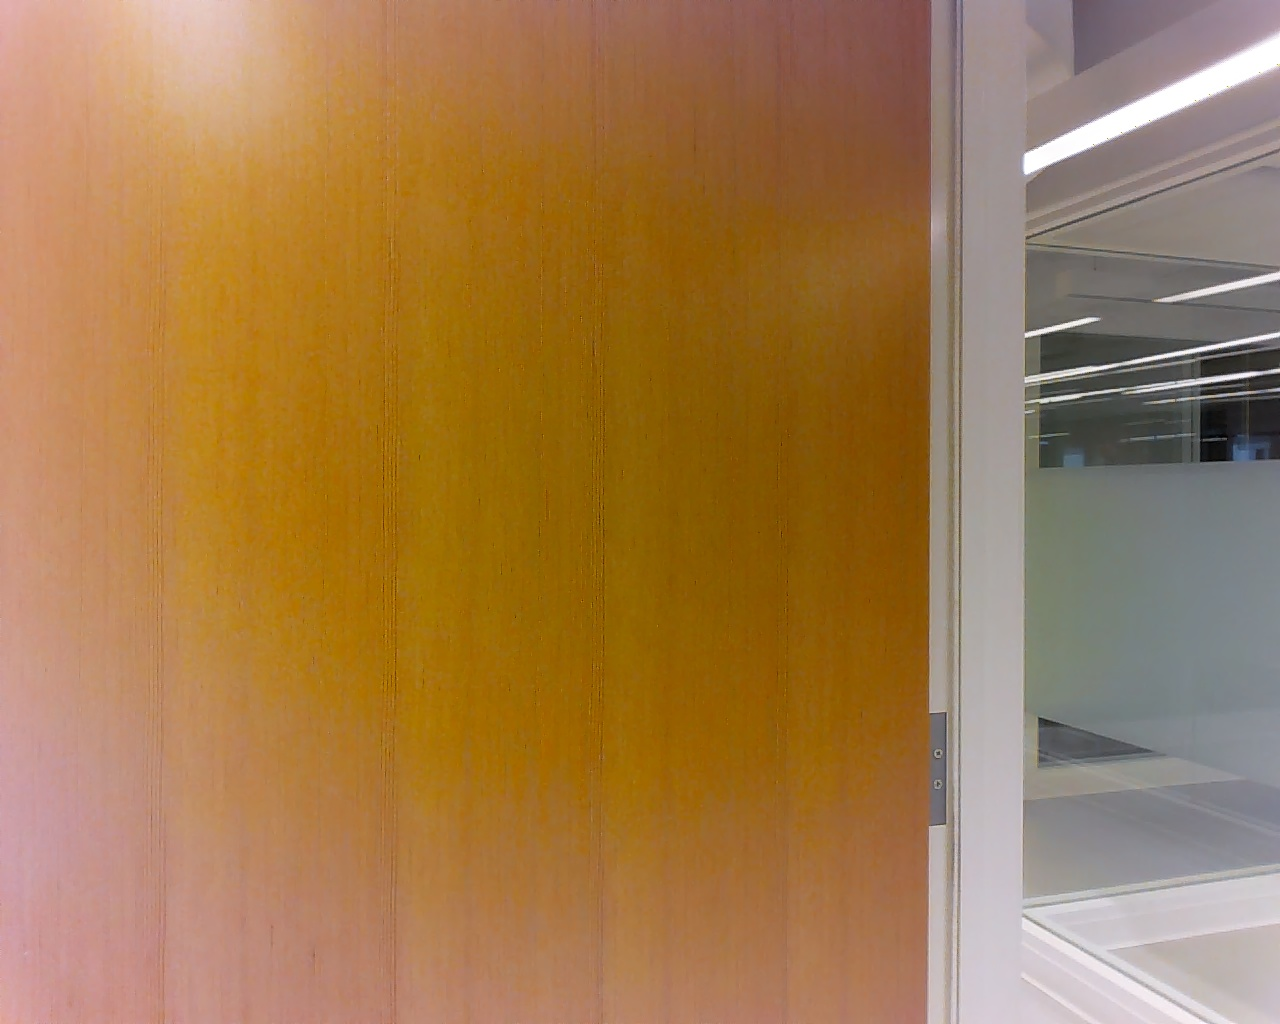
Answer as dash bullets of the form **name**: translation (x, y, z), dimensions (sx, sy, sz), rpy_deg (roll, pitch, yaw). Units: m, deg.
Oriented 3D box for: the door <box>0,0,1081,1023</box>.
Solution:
- **door**: translation (-0.110, 0.280, 0.900), dimensions (1.130, 2.341, 0.050), rpy_deg (0, 0, -18)
